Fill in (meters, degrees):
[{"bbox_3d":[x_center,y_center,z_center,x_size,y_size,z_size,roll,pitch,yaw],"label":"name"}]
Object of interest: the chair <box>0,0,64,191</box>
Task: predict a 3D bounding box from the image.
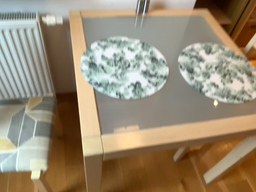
[{"bbox_3d":[-0.580,0.120,0.950,0.450,0.940,0.420,-2,52,-11],"label":"chair"}]
